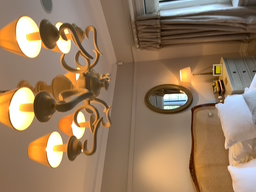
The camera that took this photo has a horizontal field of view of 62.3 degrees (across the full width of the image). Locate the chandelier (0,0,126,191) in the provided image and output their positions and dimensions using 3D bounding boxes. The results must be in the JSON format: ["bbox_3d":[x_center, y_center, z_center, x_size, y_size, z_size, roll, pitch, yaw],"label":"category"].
[{"bbox_3d":[-0.580,-0.040,1.040,0.930,0.940,0.810,3,-97,-80],"label":"chandelier"}]

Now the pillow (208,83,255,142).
[{"bbox_3d":[1.370,0.190,2.670,0.600,0.480,0.210,-54,-31,-27],"label":"pillow"}]

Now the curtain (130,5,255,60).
[{"bbox_3d":[1.220,-1.090,3.730,0.580,2.290,0.420,75,-165,-49],"label":"curtain"}]
